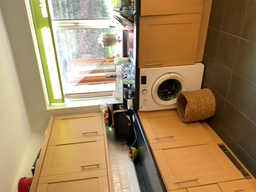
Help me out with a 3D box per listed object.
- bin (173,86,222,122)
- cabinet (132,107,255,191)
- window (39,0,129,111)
[{"bbox_3d":[0.850,0.110,2.670,0.390,0.410,0.360,120,145,-74],"label":"bin"},{"bbox_3d":[0.700,0.950,2.060,2.230,0.920,0.590,-111,19,-61],"label":"cabinet"},{"bbox_3d":[-0.560,-0.680,3.080,0.180,1.120,1.920,-110,18,-60],"label":"window"}]
